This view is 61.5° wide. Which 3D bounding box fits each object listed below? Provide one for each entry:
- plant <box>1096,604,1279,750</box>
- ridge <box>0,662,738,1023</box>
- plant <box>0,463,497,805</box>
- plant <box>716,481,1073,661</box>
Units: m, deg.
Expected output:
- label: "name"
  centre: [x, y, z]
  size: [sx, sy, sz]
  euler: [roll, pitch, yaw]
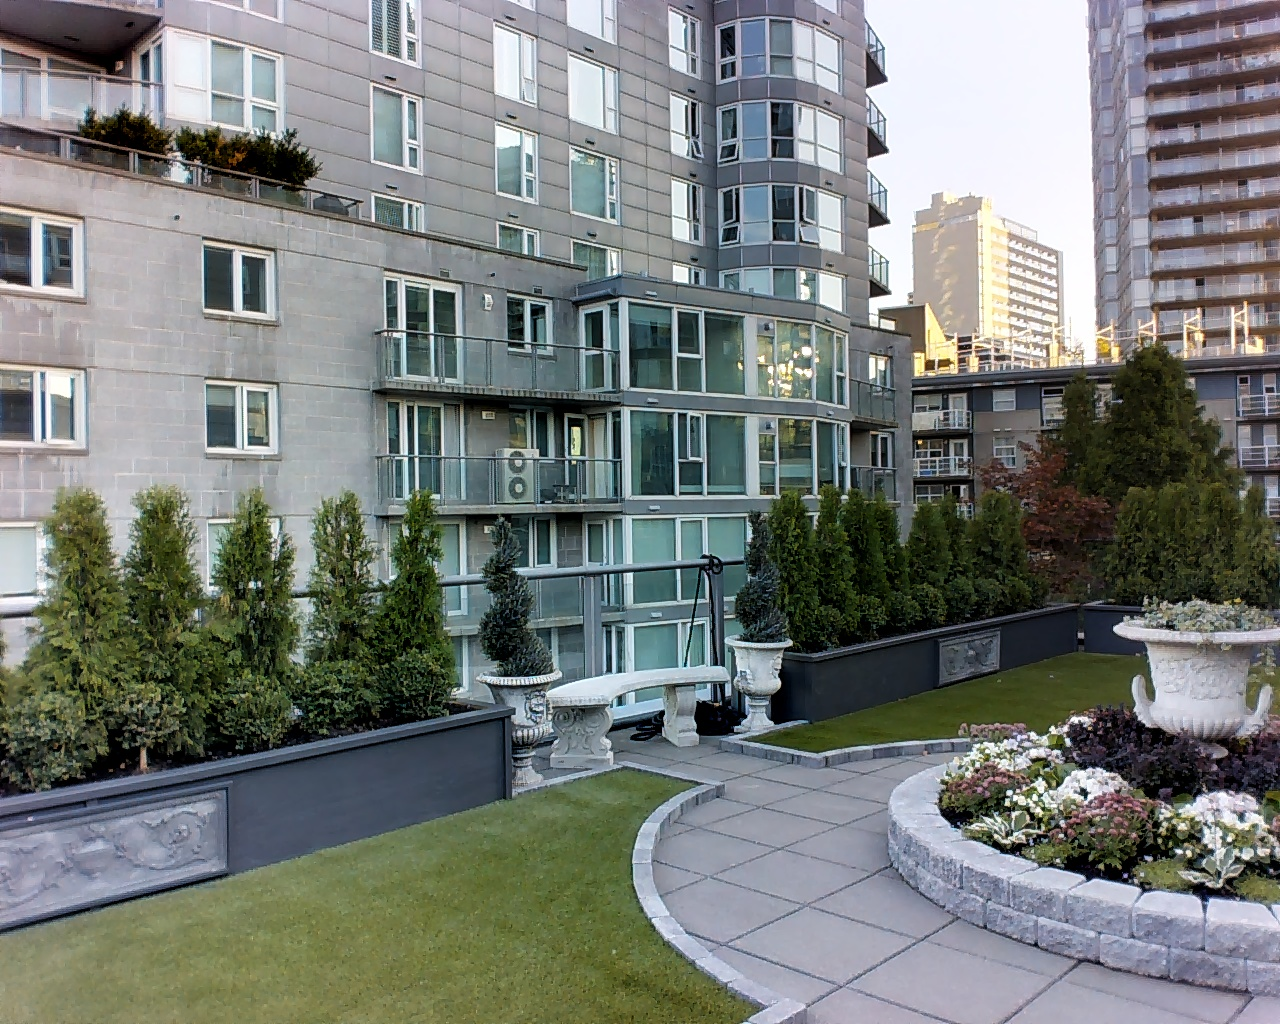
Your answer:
- label: "plant"
  centre: [2.220, 0.630, 4.280]
  size: [0.610, 0.470, 0.460]
  euler: [-1, 0, 45]
- label: "ridge"
  centre: [-1.940, 1.160, 3.710]
  size: [4.419, 0.630, 2.180]
  euler: [0, 0, -44]
- label: "plant"
  centre: [-2.210, 0.420, 4.050]
  size: [3.770, 1.180, 0.490]
  euler: [0, 0, -45]
- label: "plant"
  centre: [2.309, 0.380, 8.840]
  size: [4.330, 1.190, 0.650]
  euler: [0, 0, -45]
